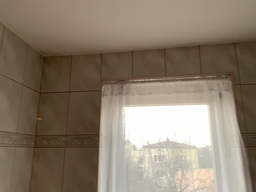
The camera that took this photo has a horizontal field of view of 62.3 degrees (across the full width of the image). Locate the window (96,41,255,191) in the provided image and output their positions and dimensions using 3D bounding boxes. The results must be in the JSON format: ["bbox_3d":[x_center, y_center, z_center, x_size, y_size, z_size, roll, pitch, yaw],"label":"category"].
[{"bbox_3d":[0.270,0.500,1.270,0.910,1.720,0.090,-2,-14,6],"label":"window"}]
